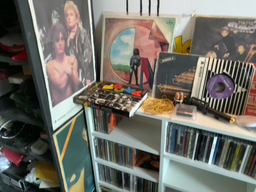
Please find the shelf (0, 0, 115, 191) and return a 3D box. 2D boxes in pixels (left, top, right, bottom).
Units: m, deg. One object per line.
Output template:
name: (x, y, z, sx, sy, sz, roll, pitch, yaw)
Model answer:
shelf: (-0.440, -0.130, 0.920, 0.590, 1.940, 0.360, 11, 31, 21)
